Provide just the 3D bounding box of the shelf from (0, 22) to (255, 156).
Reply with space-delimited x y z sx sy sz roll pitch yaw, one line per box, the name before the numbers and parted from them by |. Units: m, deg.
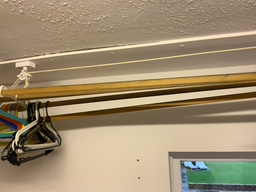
shelf | 0.100 0.030 0.910 1.930 0.400 0.460 -3 -12 12
